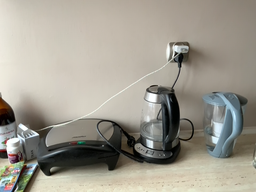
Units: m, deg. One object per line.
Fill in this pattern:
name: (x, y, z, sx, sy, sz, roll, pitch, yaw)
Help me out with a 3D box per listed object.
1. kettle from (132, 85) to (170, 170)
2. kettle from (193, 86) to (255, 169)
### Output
kettle: (0.080, 0.110, 0.820, 0.110, 0.260, 0.200, -2, 18, -2)
kettle: (0.350, 0.100, 0.780, 0.130, 0.220, 0.230, -2, 18, -1)
